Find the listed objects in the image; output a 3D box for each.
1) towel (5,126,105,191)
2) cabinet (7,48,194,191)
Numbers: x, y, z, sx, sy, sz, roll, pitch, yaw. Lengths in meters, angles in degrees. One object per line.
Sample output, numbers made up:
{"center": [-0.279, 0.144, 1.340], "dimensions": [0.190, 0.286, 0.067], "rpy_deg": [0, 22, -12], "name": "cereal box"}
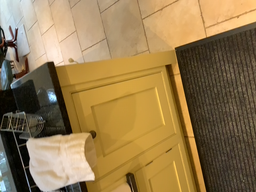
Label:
{"center": [-0.360, 0.290, 0.970], "dimensions": [0.510, 0.200, 0.250], "rpy_deg": [-9, 96, 48], "name": "towel"}
{"center": [-0.140, 0.090, 1.390], "dimensions": [0.620, 0.910, 0.590], "rpy_deg": [-9, 96, 48], "name": "cabinet"}
